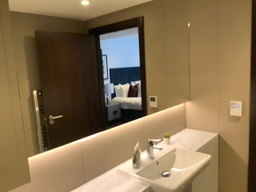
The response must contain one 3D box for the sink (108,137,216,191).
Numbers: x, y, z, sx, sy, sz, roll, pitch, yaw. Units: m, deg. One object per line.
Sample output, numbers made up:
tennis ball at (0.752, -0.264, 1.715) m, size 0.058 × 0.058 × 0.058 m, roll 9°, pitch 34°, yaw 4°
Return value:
sink at (0.270, 0.510, 1.540) m, size 0.490 × 0.150 × 0.670 m, roll 5°, pitch 12°, yaw 42°
